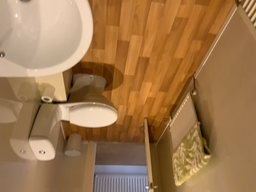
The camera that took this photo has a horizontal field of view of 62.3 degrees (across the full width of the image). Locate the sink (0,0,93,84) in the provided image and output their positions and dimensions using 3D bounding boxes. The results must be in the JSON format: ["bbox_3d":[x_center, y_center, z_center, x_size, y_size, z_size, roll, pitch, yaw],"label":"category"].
[{"bbox_3d":[-0.350,-0.310,0.720,0.440,0.210,0.540,4,143,-8],"label":"sink"}]

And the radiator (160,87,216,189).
[{"bbox_3d":[0.530,0.450,2.120,0.110,0.720,0.830,4,143,-8],"label":"radiator"}]
